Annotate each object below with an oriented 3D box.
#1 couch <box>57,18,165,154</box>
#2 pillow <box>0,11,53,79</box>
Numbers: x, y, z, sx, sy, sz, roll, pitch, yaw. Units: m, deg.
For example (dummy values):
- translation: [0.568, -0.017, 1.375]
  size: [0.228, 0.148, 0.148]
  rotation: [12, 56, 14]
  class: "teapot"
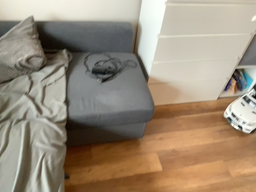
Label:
- translation: [-0.210, -0.130, 1.750]
  size: [0.630, 0.650, 0.880]
  rotation: [-5, 46, -13]
  class: "couch"
- translation: [-0.790, -0.390, 1.560]
  size: [0.310, 0.220, 0.540]
  rotation: [3, 44, -5]
  class: "pillow"
